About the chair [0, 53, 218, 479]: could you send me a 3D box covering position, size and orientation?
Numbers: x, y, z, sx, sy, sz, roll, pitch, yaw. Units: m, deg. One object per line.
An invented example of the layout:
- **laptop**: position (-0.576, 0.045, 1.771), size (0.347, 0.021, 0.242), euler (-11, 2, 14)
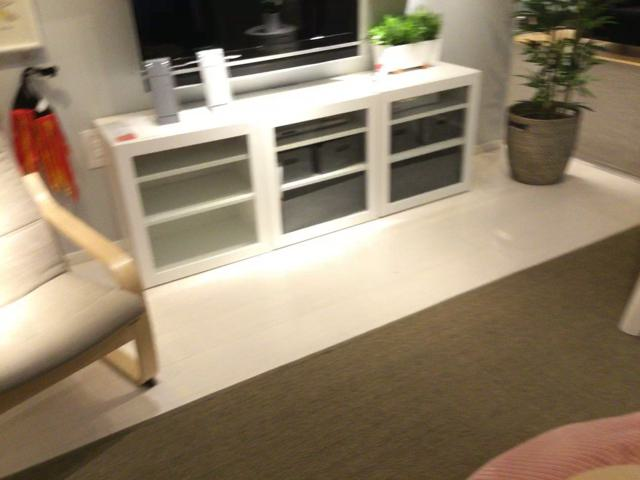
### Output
- **chair**: position (-0.980, 0.090, 1.670), size (0.830, 1.030, 0.890), euler (-27, 33, -34)
